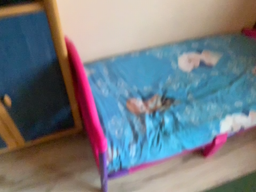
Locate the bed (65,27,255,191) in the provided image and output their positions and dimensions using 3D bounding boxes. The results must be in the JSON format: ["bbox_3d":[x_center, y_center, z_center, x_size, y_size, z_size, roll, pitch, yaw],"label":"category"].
[{"bbox_3d":[0.440,-0.030,1.480,1.550,0.310,0.740,-15,51,-16],"label":"bed"}]
